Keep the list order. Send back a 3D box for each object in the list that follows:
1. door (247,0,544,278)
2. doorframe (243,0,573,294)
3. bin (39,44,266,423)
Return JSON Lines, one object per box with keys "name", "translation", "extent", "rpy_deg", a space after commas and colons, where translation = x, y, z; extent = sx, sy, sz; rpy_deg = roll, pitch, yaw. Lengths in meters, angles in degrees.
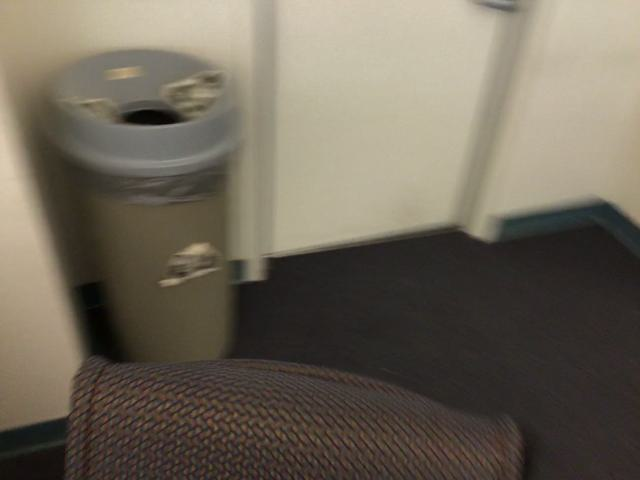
{"name": "door", "translation": [0.220, -0.470, 1.840], "extent": [0.860, 1.240, 0.160], "rpy_deg": [-10, 41, -21]}
{"name": "doorframe", "translation": [0.250, -0.420, 1.800], "extent": [0.940, 1.230, 0.150], "rpy_deg": [-10, 41, -21]}
{"name": "bin", "translation": [-0.410, 0.000, 1.490], "extent": [0.400, 0.850, 0.400], "rpy_deg": [-10, 41, -21]}
